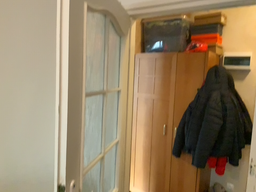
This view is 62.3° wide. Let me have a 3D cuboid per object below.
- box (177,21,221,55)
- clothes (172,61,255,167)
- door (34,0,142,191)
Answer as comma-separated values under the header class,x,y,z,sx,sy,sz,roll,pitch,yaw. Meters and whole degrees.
class,x,y,z,sx,sy,sz,roll,pitch,yaw
box,0.840,-0.650,2.480,0.340,0.290,0.450,6,6,36
clothes,0.980,0.150,2.320,0.880,0.980,0.590,3,5,7
door,-0.150,0.490,1.220,0.140,2.070,0.930,4,5,17
